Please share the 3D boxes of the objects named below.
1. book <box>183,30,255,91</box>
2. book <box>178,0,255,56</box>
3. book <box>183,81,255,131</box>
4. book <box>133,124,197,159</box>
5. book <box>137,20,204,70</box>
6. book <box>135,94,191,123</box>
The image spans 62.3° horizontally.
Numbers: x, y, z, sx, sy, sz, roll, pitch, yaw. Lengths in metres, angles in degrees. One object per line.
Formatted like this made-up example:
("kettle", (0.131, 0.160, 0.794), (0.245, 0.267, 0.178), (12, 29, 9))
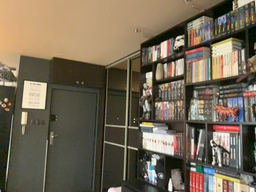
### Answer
("book", (0.880, -0.270, 1.870), (0.290, 0.350, 0.780), (6, -7, -31))
("book", (0.830, -0.630, 1.930), (0.220, 0.300, 0.820), (6, -7, -31))
("book", (0.850, 0.100, 1.860), (0.200, 0.360, 0.790), (6, -7, -31))
("book", (0.410, 0.520, 2.570), (0.320, 0.320, 0.790), (6, -7, -31))
("book", (0.490, -0.590, 2.640), (0.350, 0.330, 0.820), (6, -7, -31))
("book", (0.380, 0.160, 2.530), (0.180, 0.290, 0.800), (6, -7, -31))
